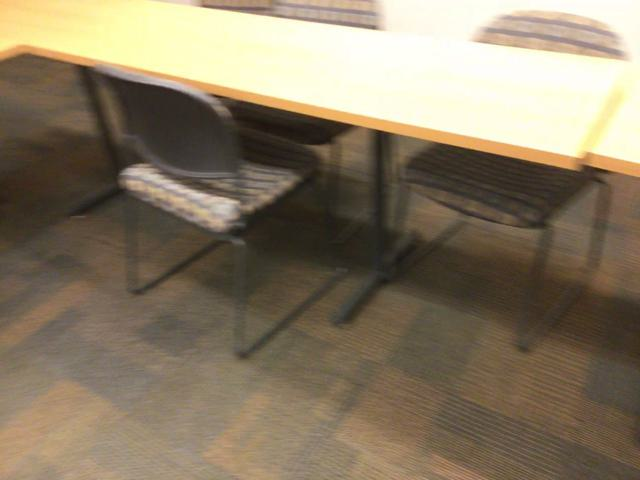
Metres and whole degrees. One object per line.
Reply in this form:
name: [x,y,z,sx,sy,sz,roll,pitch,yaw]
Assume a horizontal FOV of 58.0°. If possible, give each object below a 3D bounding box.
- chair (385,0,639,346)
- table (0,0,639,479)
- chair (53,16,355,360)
chair: [0.530,-0.220,1.640,0.420,0.740,0.570,20,37,27]
table: [-0.280,0.640,0.430,4.770,0.930,4.050,20,37,27]
chair: [-0.280,-0.190,1.690,0.510,0.730,0.580,20,37,27]
